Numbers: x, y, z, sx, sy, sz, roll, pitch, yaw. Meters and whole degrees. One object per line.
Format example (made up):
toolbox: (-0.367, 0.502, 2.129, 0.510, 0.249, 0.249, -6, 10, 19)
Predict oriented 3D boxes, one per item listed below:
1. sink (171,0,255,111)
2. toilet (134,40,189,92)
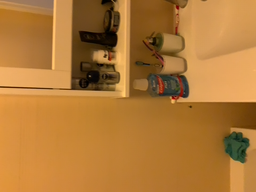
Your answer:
sink: (0.350, -0.370, 0.730, 0.480, 0.130, 0.830, 177, 95, -66)
toilet: (0.130, -0.110, 0.830, 0.090, 0.190, 0.170, 166, 105, -66)
